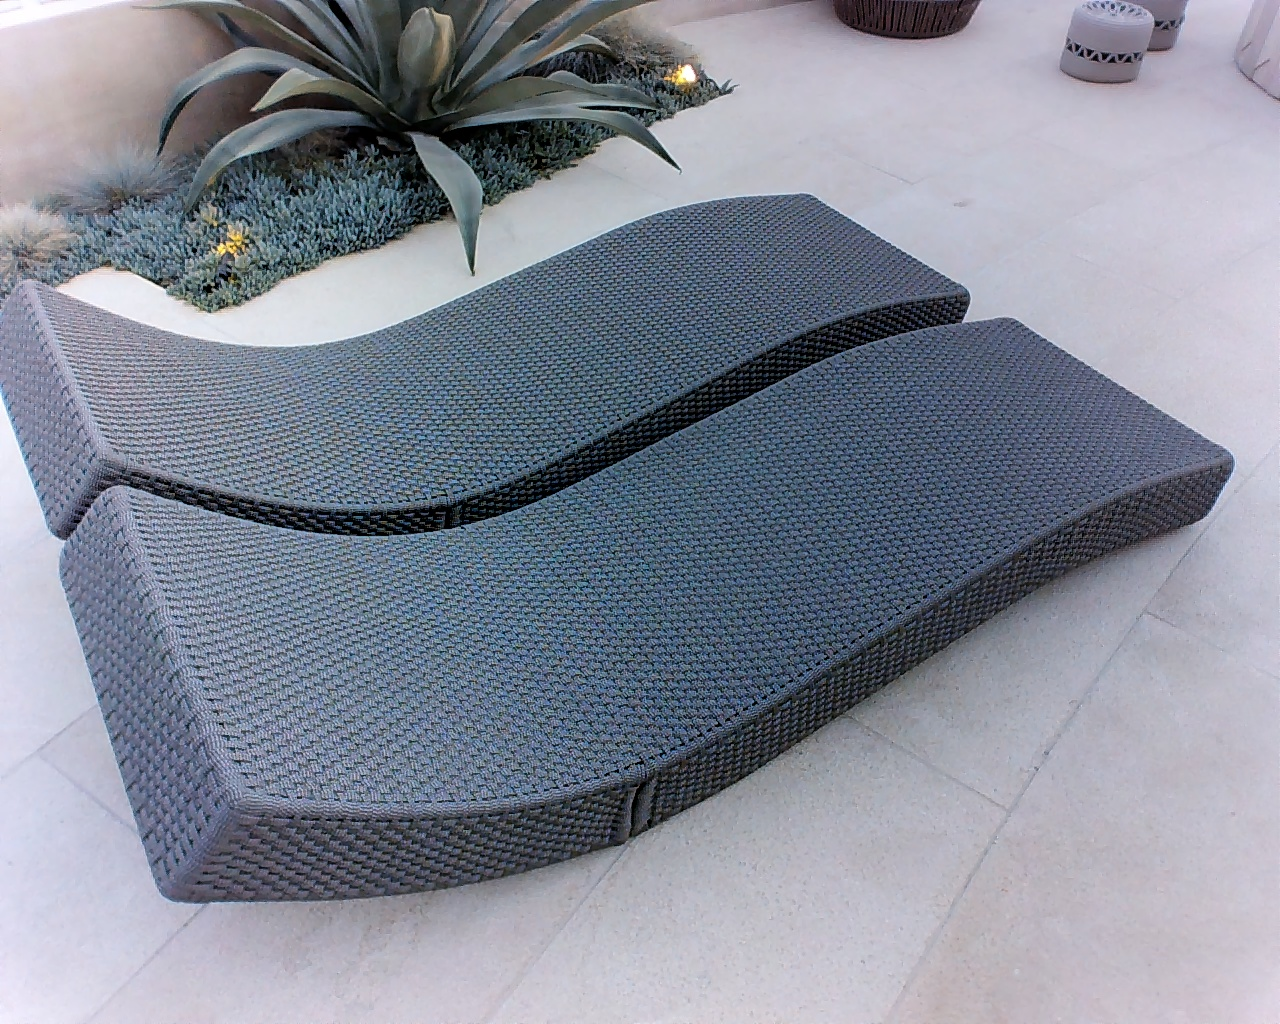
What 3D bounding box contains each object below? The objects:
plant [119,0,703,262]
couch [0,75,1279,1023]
[{"bbox_3d":[-0.720,-1.730,3.420,1.460,1.100,1.160,24,47,24],"label":"plant"},{"bbox_3d":[0.000,-0.200,2.190,2.090,0.500,1.530,-23,47,-24],"label":"couch"}]
